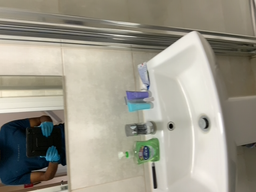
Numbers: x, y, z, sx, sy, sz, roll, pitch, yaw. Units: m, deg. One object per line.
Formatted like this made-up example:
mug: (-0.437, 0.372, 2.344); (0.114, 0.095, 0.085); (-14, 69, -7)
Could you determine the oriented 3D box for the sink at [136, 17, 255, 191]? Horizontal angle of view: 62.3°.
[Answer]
sink: (0.210, 0.100, 0.740); (0.410, 0.150, 0.570); (161, 106, -64)
